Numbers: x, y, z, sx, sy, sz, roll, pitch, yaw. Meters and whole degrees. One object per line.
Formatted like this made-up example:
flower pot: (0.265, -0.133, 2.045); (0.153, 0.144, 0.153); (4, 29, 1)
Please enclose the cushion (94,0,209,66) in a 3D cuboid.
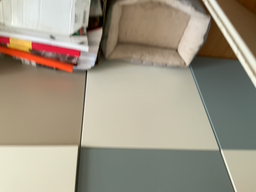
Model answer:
cushion: (0.090, -0.370, 1.110); (0.500, 0.190, 0.330); (4, 140, -12)
